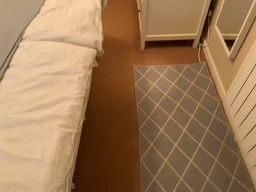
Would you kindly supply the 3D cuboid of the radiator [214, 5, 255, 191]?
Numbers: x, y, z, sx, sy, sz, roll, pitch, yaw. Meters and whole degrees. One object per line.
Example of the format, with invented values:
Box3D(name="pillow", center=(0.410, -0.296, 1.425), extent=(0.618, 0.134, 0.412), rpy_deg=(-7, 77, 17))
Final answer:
Box3D(name="radiator", center=(0.660, 0.050, 1.080), extent=(0.090, 0.630, 0.810), rpy_deg=(3, 52, 2))
